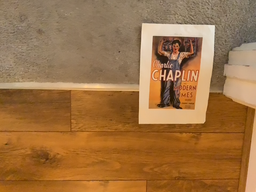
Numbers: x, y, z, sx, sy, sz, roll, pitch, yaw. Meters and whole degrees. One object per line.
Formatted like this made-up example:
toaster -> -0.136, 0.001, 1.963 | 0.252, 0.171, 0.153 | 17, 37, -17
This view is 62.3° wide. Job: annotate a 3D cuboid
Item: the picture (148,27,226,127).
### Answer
picture -> 0.170, -0.050, 0.630 | 0.210, 0.020, 0.290 | 0, 100, -5
